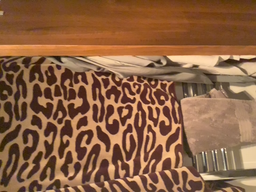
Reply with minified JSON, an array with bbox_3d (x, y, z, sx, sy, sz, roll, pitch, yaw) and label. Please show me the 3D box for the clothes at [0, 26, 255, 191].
[{"bbox_3d":[0.390,0.080,0.790,0.280,1.930,0.560,118,149,-74],"label":"clothes"}]
